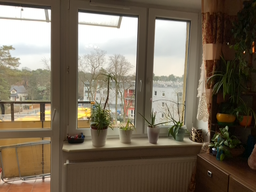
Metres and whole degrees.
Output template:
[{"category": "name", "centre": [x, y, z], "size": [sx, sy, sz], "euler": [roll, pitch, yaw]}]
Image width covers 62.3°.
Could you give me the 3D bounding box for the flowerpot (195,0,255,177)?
[{"category": "flowerpot", "centre": [0.950, -0.100, 1.880], "size": [0.420, 1.450, 0.440], "euler": [1, 5, -15]}]

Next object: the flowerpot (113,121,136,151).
[{"category": "flowerpot", "centre": [-0.040, 0.410, 2.240], "size": [0.180, 0.240, 0.280], "euler": [1, 5, -13]}]

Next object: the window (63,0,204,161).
[{"category": "window", "centre": [0.090, -0.170, 2.270], "size": [1.480, 1.620, 0.120], "euler": [1, 5, -17]}]
